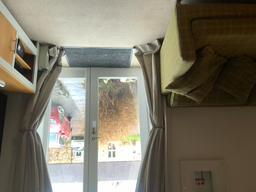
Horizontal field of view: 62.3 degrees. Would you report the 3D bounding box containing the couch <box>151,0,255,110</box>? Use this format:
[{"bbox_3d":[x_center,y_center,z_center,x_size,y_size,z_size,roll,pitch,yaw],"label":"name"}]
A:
[{"bbox_3d":[1.330,-0.360,2.180,1.960,0.780,1.120,0,165,-5],"label":"couch"}]
